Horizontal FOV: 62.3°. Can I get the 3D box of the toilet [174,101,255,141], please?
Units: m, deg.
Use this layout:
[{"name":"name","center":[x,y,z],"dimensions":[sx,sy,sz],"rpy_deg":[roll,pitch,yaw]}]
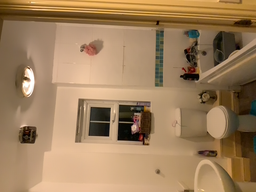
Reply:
[{"name":"toilet","center":[0.980,0.300,2.450],"dimensions":[0.640,0.750,0.370],"rpy_deg":[103,169,-81]}]
